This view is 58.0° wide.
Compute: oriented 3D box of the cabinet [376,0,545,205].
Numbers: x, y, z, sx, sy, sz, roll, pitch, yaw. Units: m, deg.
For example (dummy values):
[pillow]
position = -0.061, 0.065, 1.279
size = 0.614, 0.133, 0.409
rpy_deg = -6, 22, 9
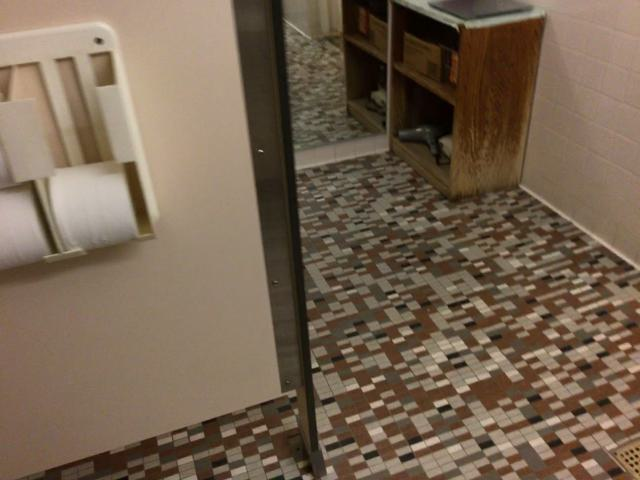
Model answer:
[cabinet]
position = 0.570, -0.670, 2.540
size = 0.400, 0.760, 0.630
rpy_deg = -15, 34, -13
